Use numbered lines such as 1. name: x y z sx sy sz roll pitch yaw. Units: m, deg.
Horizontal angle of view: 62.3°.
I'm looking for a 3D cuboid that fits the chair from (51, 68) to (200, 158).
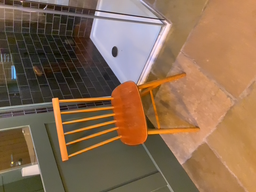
1. chair: -0.020 0.100 1.420 0.490 0.800 0.410 -23 77 55
